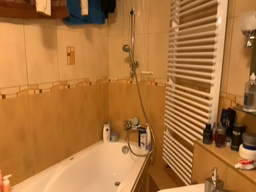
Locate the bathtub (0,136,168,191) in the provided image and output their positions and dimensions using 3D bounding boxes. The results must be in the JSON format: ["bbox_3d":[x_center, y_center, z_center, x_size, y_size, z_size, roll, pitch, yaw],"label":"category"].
[{"bbox_3d":[-0.300,0.910,1.860,0.790,0.550,1.470,7,12,30],"label":"bathtub"}]
